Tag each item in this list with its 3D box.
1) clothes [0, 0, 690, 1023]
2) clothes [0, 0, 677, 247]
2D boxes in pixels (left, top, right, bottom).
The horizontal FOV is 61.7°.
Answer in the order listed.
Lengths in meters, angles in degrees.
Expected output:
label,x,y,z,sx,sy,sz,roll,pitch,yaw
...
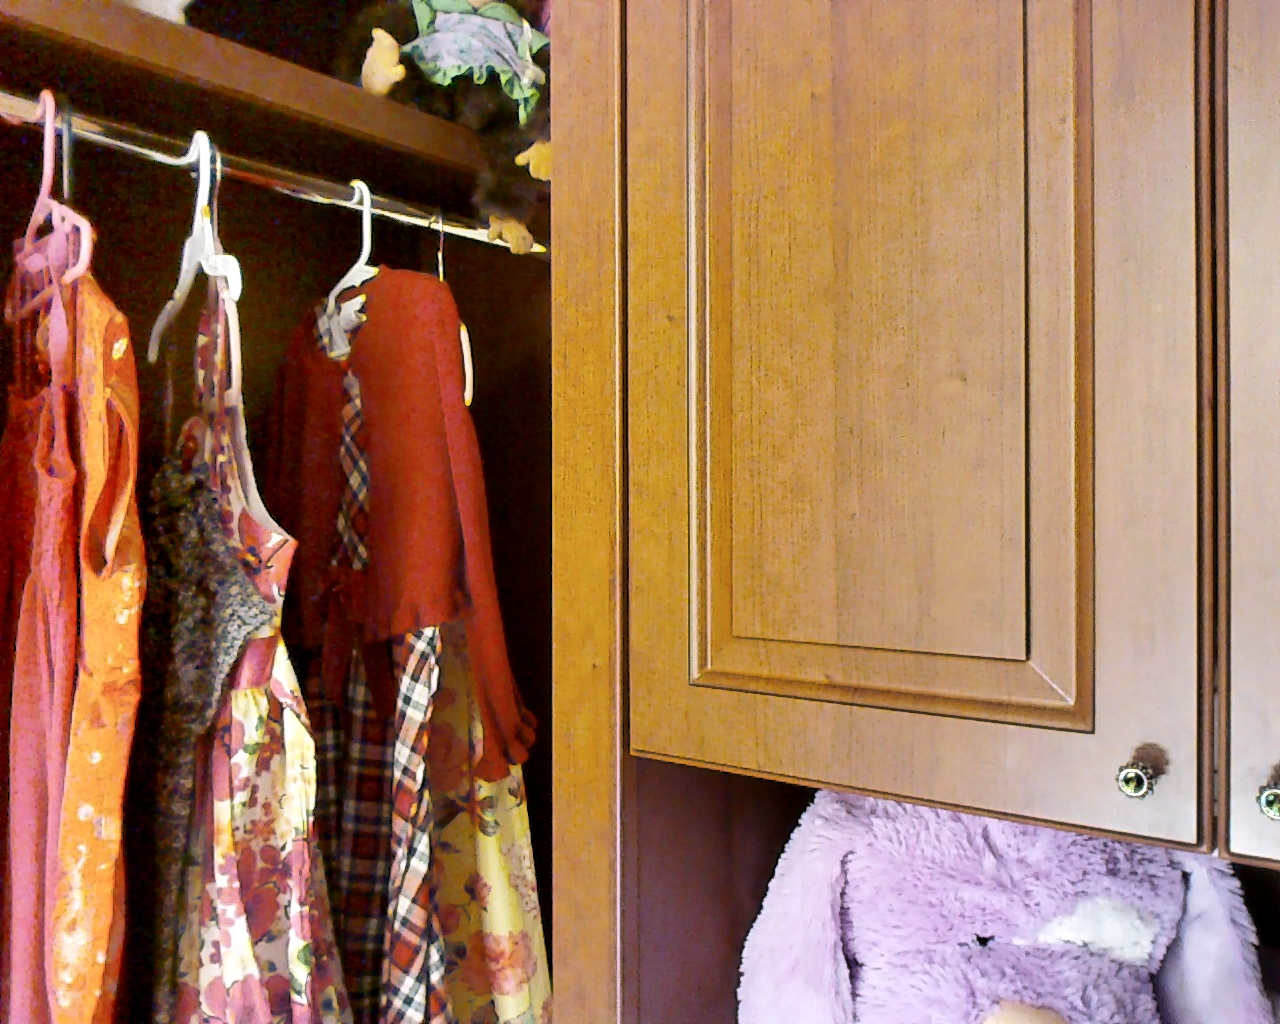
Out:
label,x,y,z,sx,sy,sz,roll,pitch,yaw
clothes,-0.410,0.170,0.930,0.540,1.110,0.800,1,1,38
clothes,-0.450,-0.520,0.970,0.440,0.300,1.040,1,1,38
